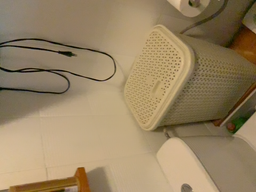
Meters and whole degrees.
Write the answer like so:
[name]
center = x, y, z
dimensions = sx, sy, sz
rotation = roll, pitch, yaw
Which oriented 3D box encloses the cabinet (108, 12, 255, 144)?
[cabinet]
center = 0.350, -0.070, 1.030
dimensions = 0.360, 0.730, 0.380
rotation = 60, 137, 39
